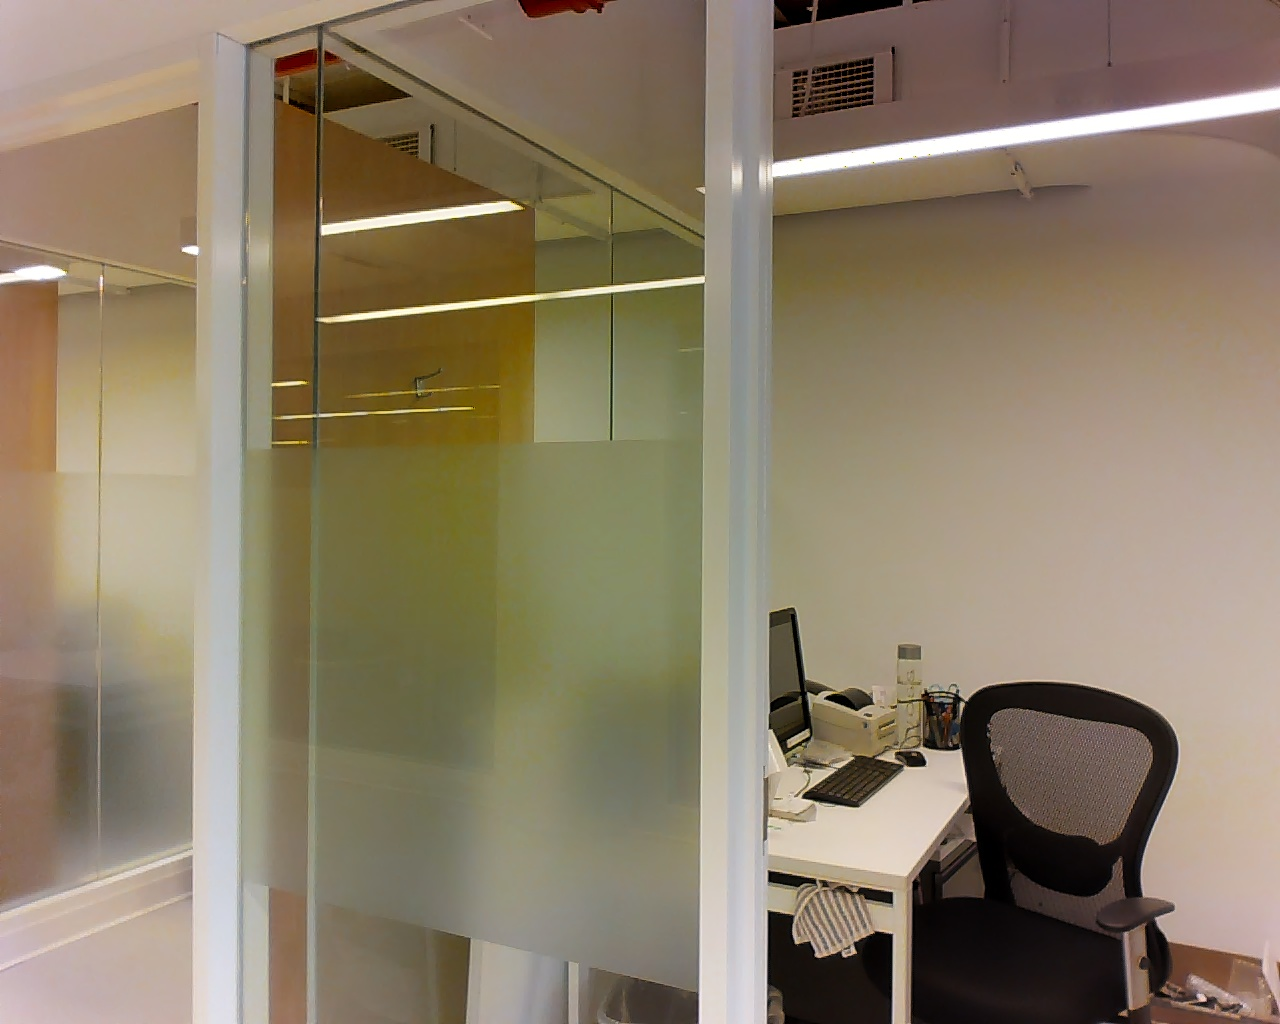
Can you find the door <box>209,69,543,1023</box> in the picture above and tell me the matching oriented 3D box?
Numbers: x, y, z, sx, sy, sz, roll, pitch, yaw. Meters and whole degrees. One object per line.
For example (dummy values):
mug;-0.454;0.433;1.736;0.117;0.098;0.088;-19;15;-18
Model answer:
door;-0.530;0.320;2.410;0.120;2.250;0.980;0;0;27
